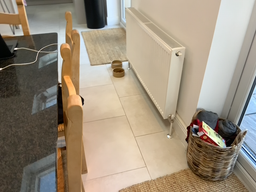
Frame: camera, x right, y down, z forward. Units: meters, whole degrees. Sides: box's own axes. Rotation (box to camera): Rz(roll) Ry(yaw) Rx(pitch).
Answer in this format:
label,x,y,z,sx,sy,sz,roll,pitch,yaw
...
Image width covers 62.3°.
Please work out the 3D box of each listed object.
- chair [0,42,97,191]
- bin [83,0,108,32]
label,x,y,z,sx,sy,sz,roll,pitch,yaw
chair,-0.400,0.350,0.900,0.490,0.980,0.470,-9,37,-13
bin,-0.630,-1.670,4.110,0.410,0.730,0.380,-8,36,-11
